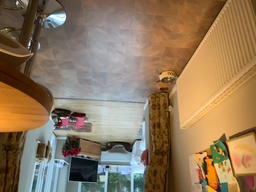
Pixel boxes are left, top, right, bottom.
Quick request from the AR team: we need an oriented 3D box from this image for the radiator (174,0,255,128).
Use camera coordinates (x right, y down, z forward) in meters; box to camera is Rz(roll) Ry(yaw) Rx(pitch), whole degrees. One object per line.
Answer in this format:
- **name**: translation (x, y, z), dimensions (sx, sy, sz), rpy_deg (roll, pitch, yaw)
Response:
- **radiator**: translation (0.680, -0.250, 1.770), dimensions (0.120, 0.660, 1.520), rpy_deg (3, 156, -4)
